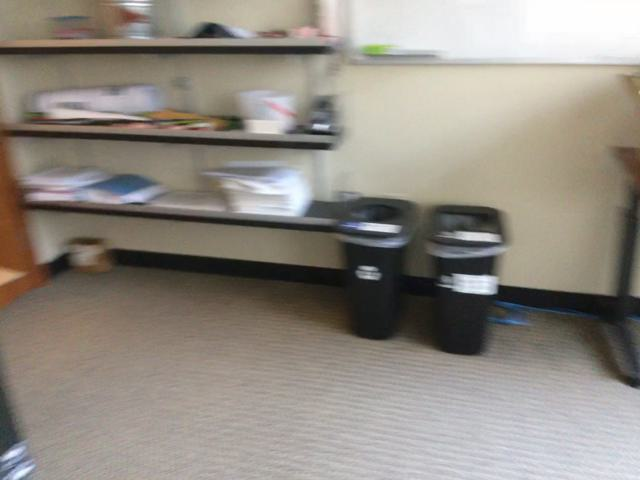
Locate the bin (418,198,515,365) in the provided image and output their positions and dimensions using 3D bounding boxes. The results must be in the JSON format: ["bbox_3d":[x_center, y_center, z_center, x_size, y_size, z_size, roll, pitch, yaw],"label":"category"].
[{"bbox_3d":[0.600,0.140,2.370,0.320,0.500,0.520,4,19,15],"label":"bin"}]

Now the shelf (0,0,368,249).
[{"bbox_3d":[-0.620,-0.970,2.340,1.570,1.870,0.430,4,19,15],"label":"shelf"}]

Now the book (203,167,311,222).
[{"bbox_3d":[-0.270,-0.210,2.580,0.400,0.170,0.270,4,19,15],"label":"book"}]

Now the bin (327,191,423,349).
[{"bbox_3d":[0.250,0.100,2.470,0.310,0.500,0.520,4,19,15],"label":"bin"}]
